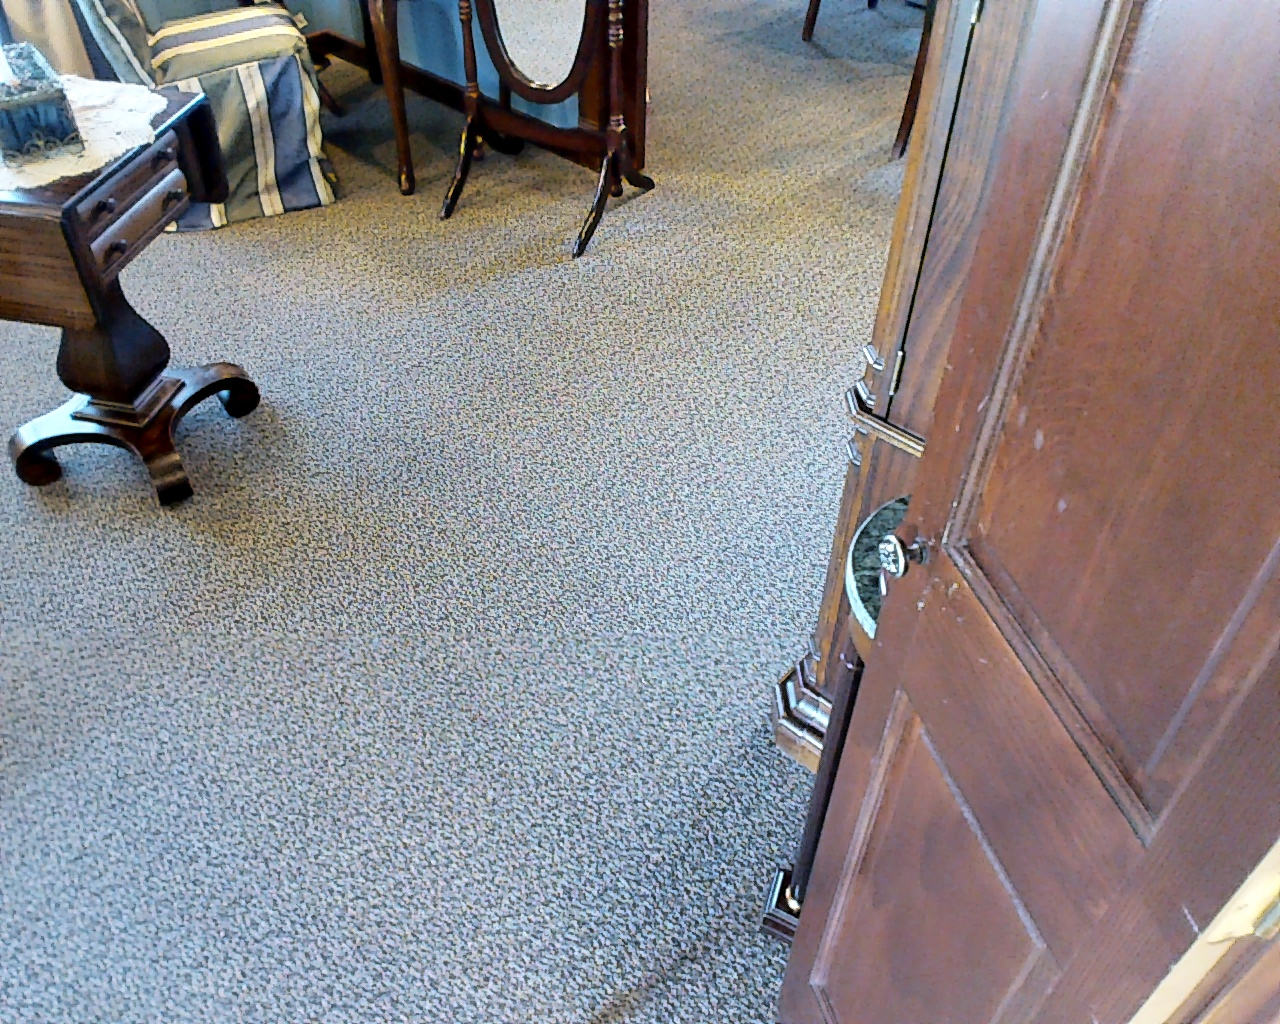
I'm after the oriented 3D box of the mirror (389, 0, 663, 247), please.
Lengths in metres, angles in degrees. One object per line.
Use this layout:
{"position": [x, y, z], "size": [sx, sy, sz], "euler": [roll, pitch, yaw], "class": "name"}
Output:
{"position": [-0.300, -1.530, 2.820], "size": [0.610, 1.490, 0.440], "euler": [18, 46, 17], "class": "mirror"}
